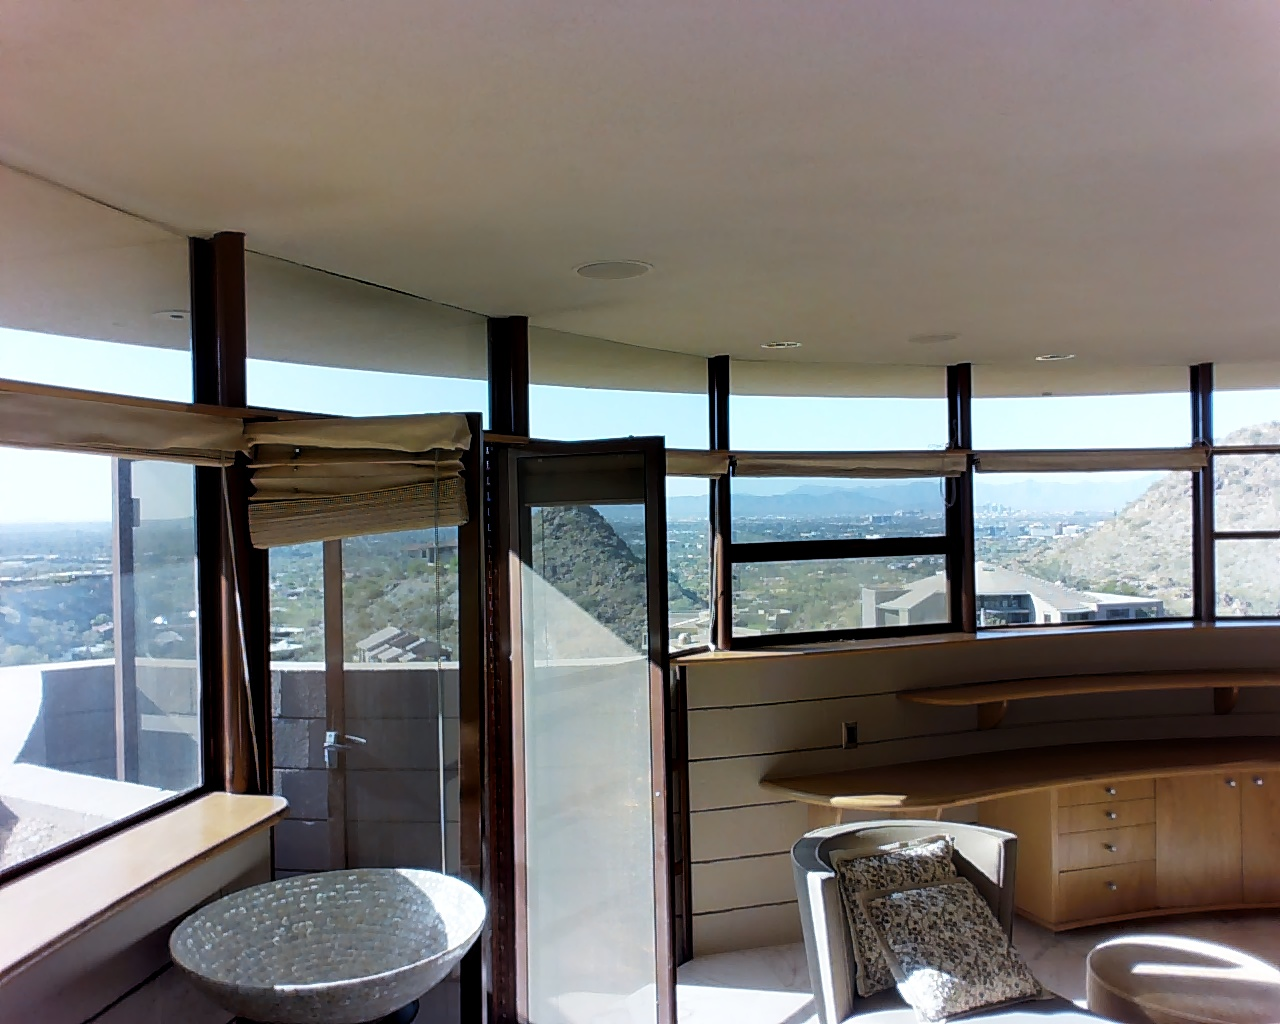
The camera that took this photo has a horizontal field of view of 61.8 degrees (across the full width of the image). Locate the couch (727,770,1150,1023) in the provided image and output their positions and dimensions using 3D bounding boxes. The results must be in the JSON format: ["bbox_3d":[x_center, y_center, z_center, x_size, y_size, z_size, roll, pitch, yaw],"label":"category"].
[{"bbox_3d":[0.870,1.330,3.200,0.890,0.830,0.820,-1,0,-30],"label":"couch"}]
